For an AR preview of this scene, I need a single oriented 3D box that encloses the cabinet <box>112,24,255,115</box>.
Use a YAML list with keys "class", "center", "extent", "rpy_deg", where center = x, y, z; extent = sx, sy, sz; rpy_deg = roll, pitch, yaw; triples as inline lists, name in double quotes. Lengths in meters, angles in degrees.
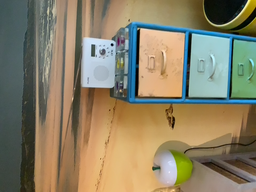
- class: "cabinet"
  center: [0.580, -0.070, 1.080]
  extent: [0.360, 1.260, 0.300]
  rpy_deg: [-178, 90, -71]
